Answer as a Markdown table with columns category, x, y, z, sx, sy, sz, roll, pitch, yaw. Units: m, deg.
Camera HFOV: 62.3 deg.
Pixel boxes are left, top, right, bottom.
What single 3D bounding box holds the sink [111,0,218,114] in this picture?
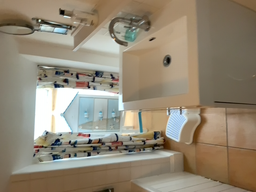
| category | x | y | z | sx | sy | sz | roll | pitch | yaw |
| --- | --- | --- | --- | --- | --- | --- | --- | --- | --- |
| sink | 0.120 | -0.150 | 1.070 | 0.620 | 0.140 | 0.450 | -13 | 76 | 58 |

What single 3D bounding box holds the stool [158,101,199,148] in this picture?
| category | x | y | z | sx | sy | sz | roll | pitch | yaw |
| --- | --- | --- | --- | --- | --- | --- | --- | --- | --- |
| stool | 0.440 | 0.250 | 1.900 | 0.240 | 0.130 | 0.340 | 44 | 124 | 51 |

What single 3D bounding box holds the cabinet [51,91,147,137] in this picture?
| category | x | y | z | sx | sy | sz | roll | pitch | yaw |
| --- | --- | --- | --- | --- | --- | --- | --- | --- | --- |
| cabinet | -0.290 | 0.190 | 2.320 | 0.360 | 0.960 | 0.420 | -2 | 85 | 58 |
